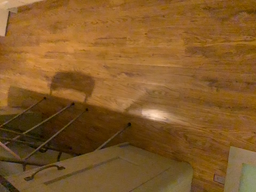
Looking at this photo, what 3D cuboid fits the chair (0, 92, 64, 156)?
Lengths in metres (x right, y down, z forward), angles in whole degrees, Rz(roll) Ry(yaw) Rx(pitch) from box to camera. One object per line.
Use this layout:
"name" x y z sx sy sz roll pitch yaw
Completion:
"chair" -1.110 0.210 1.740 0.410 1.040 0.440 10 97 37
